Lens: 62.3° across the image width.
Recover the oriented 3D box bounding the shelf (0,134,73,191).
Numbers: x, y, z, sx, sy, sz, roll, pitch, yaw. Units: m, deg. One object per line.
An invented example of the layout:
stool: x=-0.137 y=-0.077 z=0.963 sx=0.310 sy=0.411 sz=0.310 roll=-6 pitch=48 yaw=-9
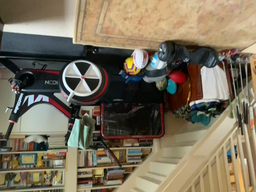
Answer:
shelf: x=-1.440 y=1.300 z=2.830 sx=1.350 sy=1.500 sz=0.240 roll=1 pitch=167 yaw=-15
